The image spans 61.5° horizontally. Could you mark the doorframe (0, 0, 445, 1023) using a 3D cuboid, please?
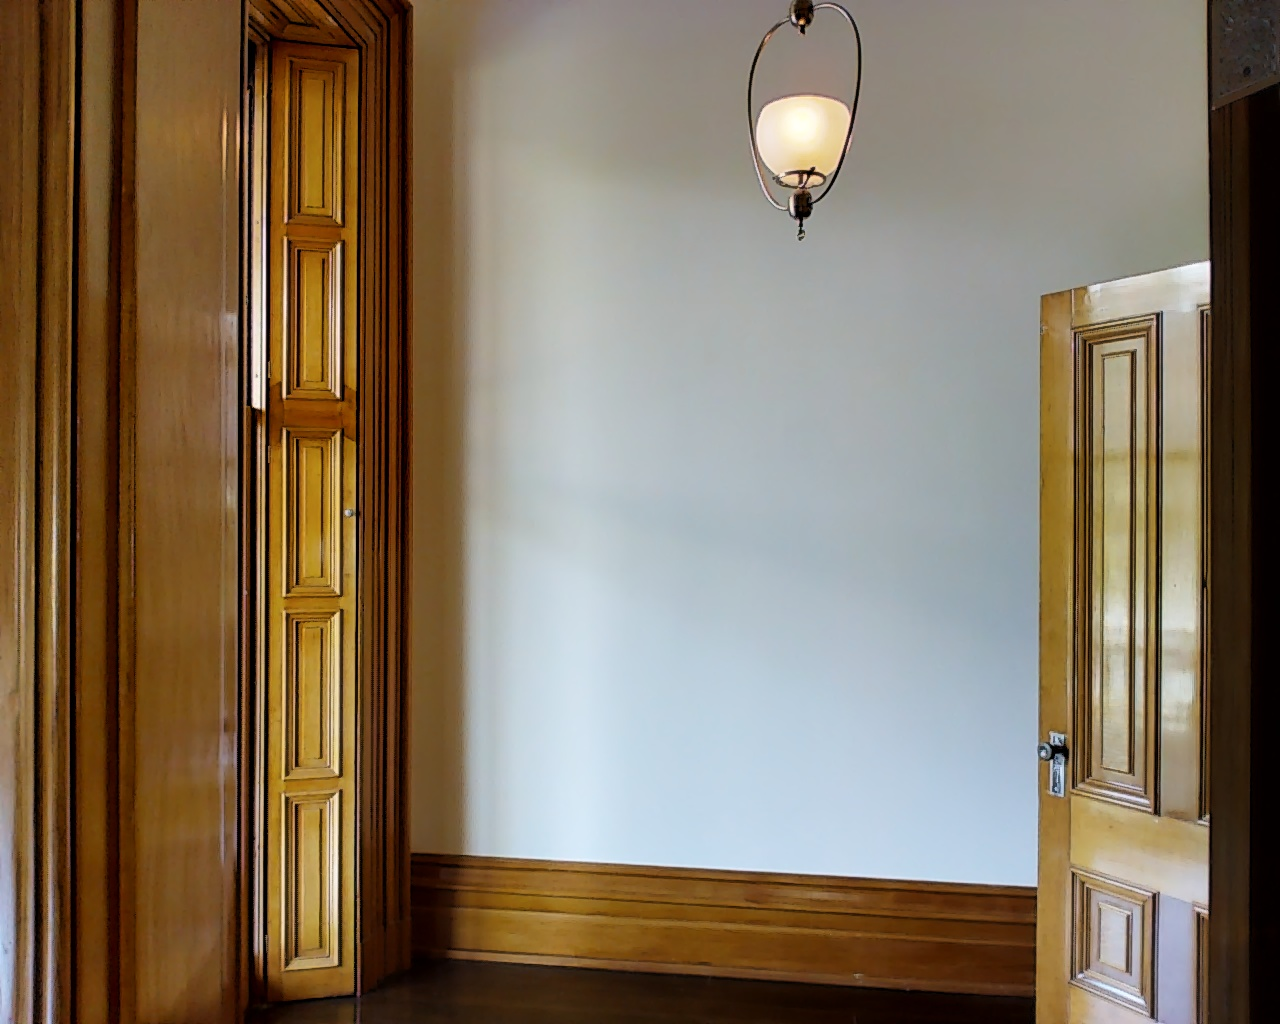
[{"bbox_3d":[-1.070,-0.140,2.890,0.400,3.300,1.990,1,0,9],"label":"doorframe"}]

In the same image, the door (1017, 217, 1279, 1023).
[{"bbox_3d":[1.450,0.410,2.900,0.060,2.270,1.010,1,0,-29],"label":"door"}]
